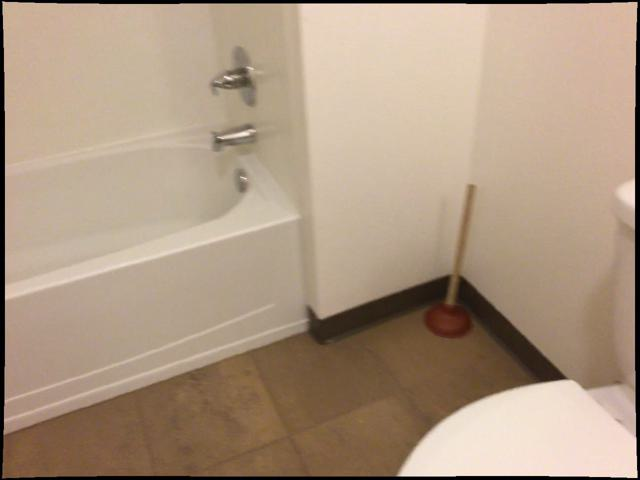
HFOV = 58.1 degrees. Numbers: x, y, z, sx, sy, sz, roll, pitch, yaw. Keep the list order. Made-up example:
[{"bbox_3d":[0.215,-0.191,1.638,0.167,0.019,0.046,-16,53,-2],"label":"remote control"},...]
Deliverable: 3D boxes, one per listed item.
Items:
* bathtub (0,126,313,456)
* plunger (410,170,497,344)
[{"bbox_3d":[-0.878,0.160,1.800,1.507,0.471,0.760,-17,37,-17],"label":"bathtub"},{"bbox_3d":[0.389,0.060,1.740,0.160,0.491,0.160,-16,37,-17],"label":"plunger"}]
